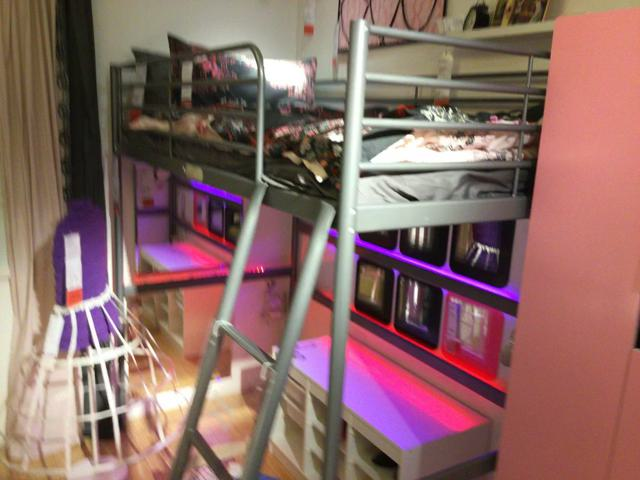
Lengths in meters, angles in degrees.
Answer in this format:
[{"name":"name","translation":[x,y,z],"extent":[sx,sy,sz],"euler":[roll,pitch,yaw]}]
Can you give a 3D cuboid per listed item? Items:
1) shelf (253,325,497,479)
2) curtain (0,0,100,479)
[{"name":"shelf","translation":[0.160,0.850,2.540],"extent":[0.470,0.600,1.100],"euler":[-5,11,-32]},{"name":"curtain","translation":[-1.590,0.000,2.390],"extent":[1.160,2.160,0.300],"euler":[-5,11,-32]}]
